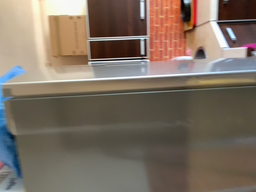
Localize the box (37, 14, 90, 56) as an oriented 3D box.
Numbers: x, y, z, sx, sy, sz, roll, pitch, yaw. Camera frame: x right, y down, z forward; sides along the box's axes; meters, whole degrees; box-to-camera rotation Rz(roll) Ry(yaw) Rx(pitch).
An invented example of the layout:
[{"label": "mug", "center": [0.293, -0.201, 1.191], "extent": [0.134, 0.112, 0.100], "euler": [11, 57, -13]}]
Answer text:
[{"label": "box", "center": [-0.650, -0.630, 2.220], "extent": [0.290, 0.440, 0.380], "euler": [-99, 7, -75]}]
